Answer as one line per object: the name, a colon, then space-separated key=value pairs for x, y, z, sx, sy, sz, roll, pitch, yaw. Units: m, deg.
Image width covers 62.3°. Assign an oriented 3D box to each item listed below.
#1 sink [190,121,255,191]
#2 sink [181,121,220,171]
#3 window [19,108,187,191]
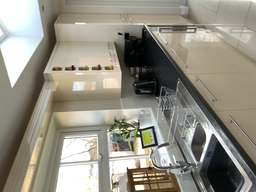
sink: x=0.610 y=0.470 z=1.290 sx=0.390 sy=0.230 sz=0.480 roll=-105 pitch=15 yaw=-55
sink: x=0.520 y=0.370 z=1.570 sx=0.210 sy=0.140 sz=0.290 roll=-105 pitch=15 yaw=-55
window: x=-0.170 y=0.810 z=1.580 sx=1.910 sy=1.190 sz=0.280 roll=-104 pitch=15 yaw=-54
